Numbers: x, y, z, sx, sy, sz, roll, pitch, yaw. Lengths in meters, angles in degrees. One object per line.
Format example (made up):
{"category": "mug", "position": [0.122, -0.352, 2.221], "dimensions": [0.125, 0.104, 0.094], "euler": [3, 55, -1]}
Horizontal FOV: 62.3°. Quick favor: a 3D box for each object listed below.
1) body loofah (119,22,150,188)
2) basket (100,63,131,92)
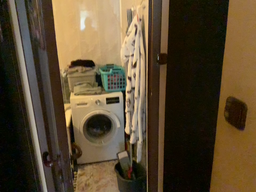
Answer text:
{"category": "body loofah", "position": [0.060, 0.110, 1.980], "dimensions": [0.210, 1.510, 0.340], "euler": [-3, 18, -6]}
{"category": "basket", "position": [-0.170, -0.250, 2.670], "dimensions": [0.340, 0.240, 0.480], "euler": [-4, 19, -8]}
